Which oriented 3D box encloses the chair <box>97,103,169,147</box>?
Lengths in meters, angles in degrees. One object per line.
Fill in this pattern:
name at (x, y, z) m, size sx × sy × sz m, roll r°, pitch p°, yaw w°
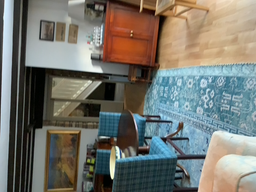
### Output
chair at (0.040, 0.430, 3.270) m, size 0.580 × 0.950 × 0.480 m, roll -139°, pitch 54°, yaw -72°
